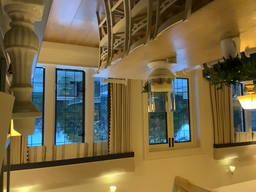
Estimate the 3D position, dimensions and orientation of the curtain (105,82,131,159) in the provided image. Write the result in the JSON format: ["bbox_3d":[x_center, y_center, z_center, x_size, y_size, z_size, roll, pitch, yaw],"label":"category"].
[{"bbox_3d":[-0.200,0.470,4.170,0.460,1.440,0.180,2,174,-25],"label":"curtain"}]

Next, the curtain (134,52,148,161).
[{"bbox_3d":[0.270,0.200,4.450,0.210,2.230,0.170,2,174,-26],"label":"curtain"}]

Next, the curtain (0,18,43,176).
[{"bbox_3d":[-1.720,0.000,3.320,0.630,2.300,0.320,2,174,-27],"label":"curtain"}]
